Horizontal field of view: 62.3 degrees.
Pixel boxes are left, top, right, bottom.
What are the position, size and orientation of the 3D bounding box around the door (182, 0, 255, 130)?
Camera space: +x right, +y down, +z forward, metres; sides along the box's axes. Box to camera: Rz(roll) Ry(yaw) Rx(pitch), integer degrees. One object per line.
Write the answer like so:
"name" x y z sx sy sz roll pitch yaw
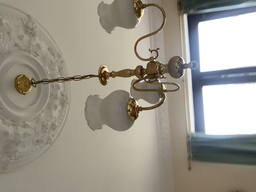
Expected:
"door" 2.010 -0.450 2.970 0.100 2.330 1.840 -6 -87 -67
